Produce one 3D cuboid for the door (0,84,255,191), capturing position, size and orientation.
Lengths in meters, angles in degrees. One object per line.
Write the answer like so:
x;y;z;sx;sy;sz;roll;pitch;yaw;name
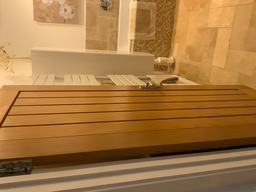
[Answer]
0.240;0.120;1.240;1.010;1.940;0.040;-125;37;-62;door
